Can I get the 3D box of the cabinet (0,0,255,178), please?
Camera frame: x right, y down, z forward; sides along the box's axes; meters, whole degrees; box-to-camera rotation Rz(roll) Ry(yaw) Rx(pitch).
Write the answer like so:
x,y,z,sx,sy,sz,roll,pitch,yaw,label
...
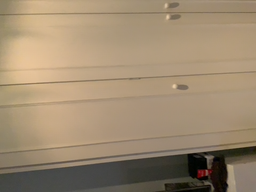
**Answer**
x,y,z,sx,sy,sz,roll,pitch,yaw,label
-0.040,-0.300,1.620,0.360,2.510,1.520,137,129,-78,cabinet
